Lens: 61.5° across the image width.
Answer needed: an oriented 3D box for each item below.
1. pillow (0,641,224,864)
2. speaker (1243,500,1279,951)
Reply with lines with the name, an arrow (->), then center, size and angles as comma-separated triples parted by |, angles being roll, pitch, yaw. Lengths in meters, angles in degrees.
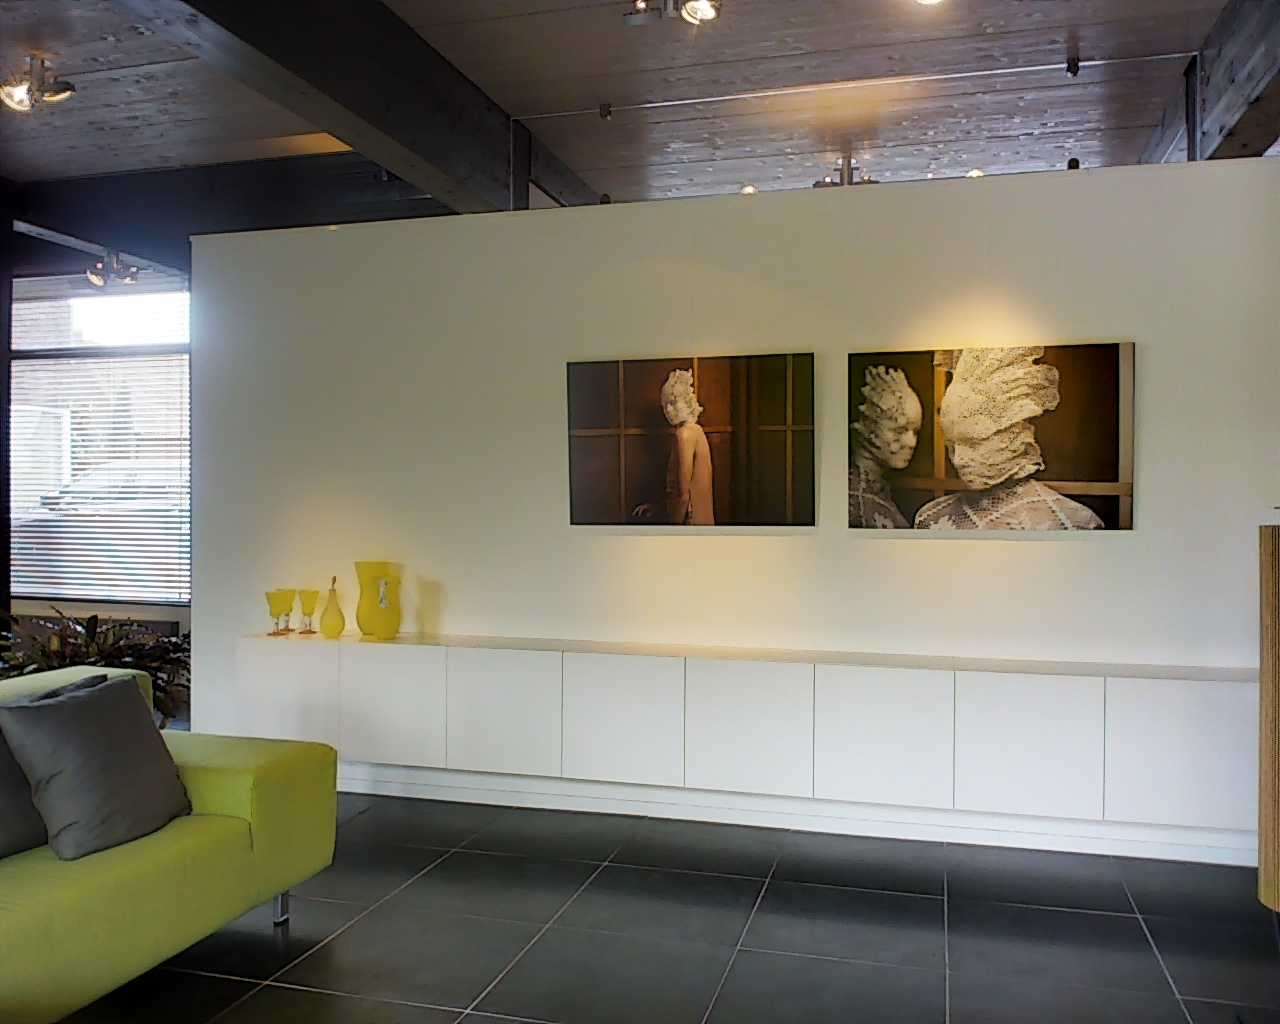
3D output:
pillow -> -1.520, 0.690, 3.040 | 0.270, 0.500, 0.550 | 0, -24, 17
speaker -> 1.620, 0.510, 2.660 | 0.170, 1.080, 0.220 | 0, 1, 17
